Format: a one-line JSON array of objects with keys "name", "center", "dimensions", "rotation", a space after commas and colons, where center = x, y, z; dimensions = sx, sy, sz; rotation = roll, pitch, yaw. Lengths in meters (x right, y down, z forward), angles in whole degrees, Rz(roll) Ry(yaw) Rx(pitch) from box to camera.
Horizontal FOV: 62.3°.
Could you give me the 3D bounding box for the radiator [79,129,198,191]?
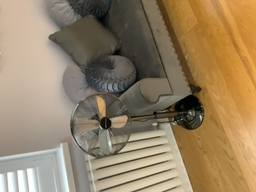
[{"name": "radiator", "center": [0.190, 0.810, 1.310], "dimensions": [0.090, 0.780, 1.160], "rotation": [-41, 58, 48]}]
